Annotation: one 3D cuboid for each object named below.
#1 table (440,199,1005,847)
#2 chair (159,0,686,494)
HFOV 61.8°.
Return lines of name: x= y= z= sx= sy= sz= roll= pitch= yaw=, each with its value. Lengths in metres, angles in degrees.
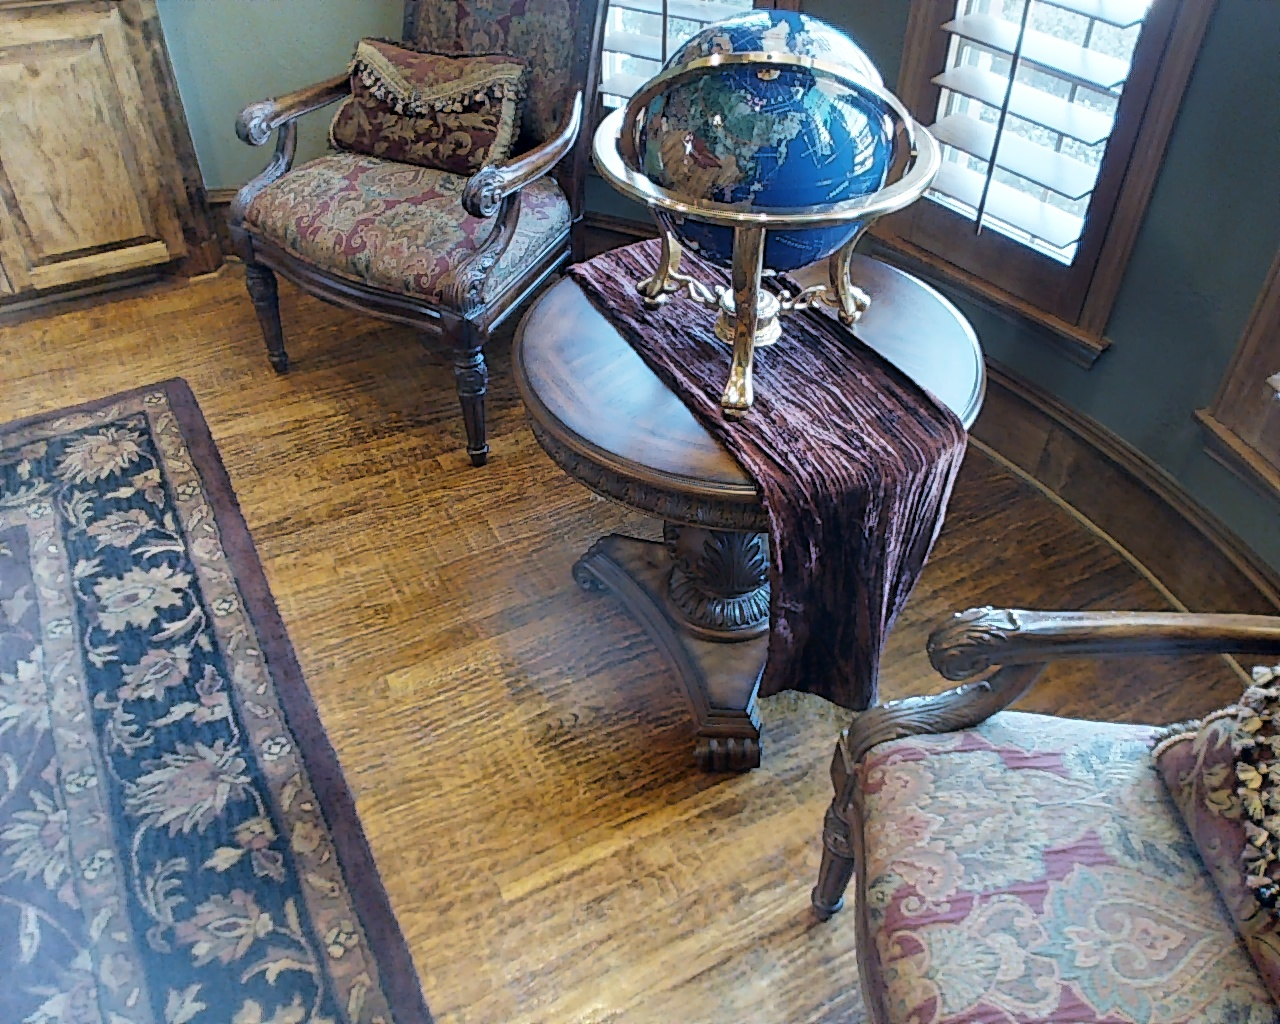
table: x=0.170 y=-0.010 z=1.880 sx=0.710 sy=0.700 sz=0.730 roll=13 pitch=44 yaw=12
chair: x=-0.440 y=-0.840 z=2.360 sx=0.770 sy=1.200 sz=0.730 roll=30 pitch=50 yaw=28
